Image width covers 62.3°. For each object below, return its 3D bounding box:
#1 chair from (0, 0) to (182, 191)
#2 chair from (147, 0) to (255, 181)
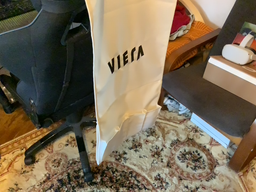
[{"bbox_3d":[-0.360,-0.140,1.020,0.690,1.150,0.890,-25,47,-23],"label":"chair"},{"bbox_3d":[0.630,-0.200,1.230,0.760,0.910,0.670,-27,48,-24],"label":"chair"}]
